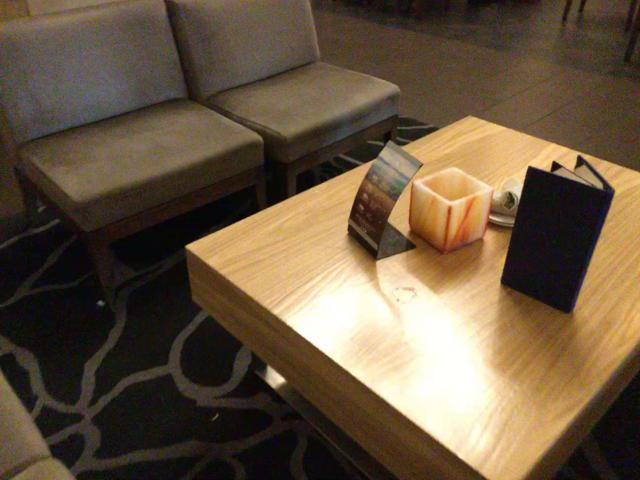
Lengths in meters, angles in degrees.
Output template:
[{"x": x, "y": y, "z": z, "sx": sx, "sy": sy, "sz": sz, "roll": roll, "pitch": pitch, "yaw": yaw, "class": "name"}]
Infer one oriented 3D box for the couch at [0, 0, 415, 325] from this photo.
[{"x": -0.440, "y": -0.540, "z": 2.340, "sx": 0.860, "sy": 0.820, "sz": 1.510, "roll": 28, "pitch": 44, "yaw": 36, "class": "couch"}]
